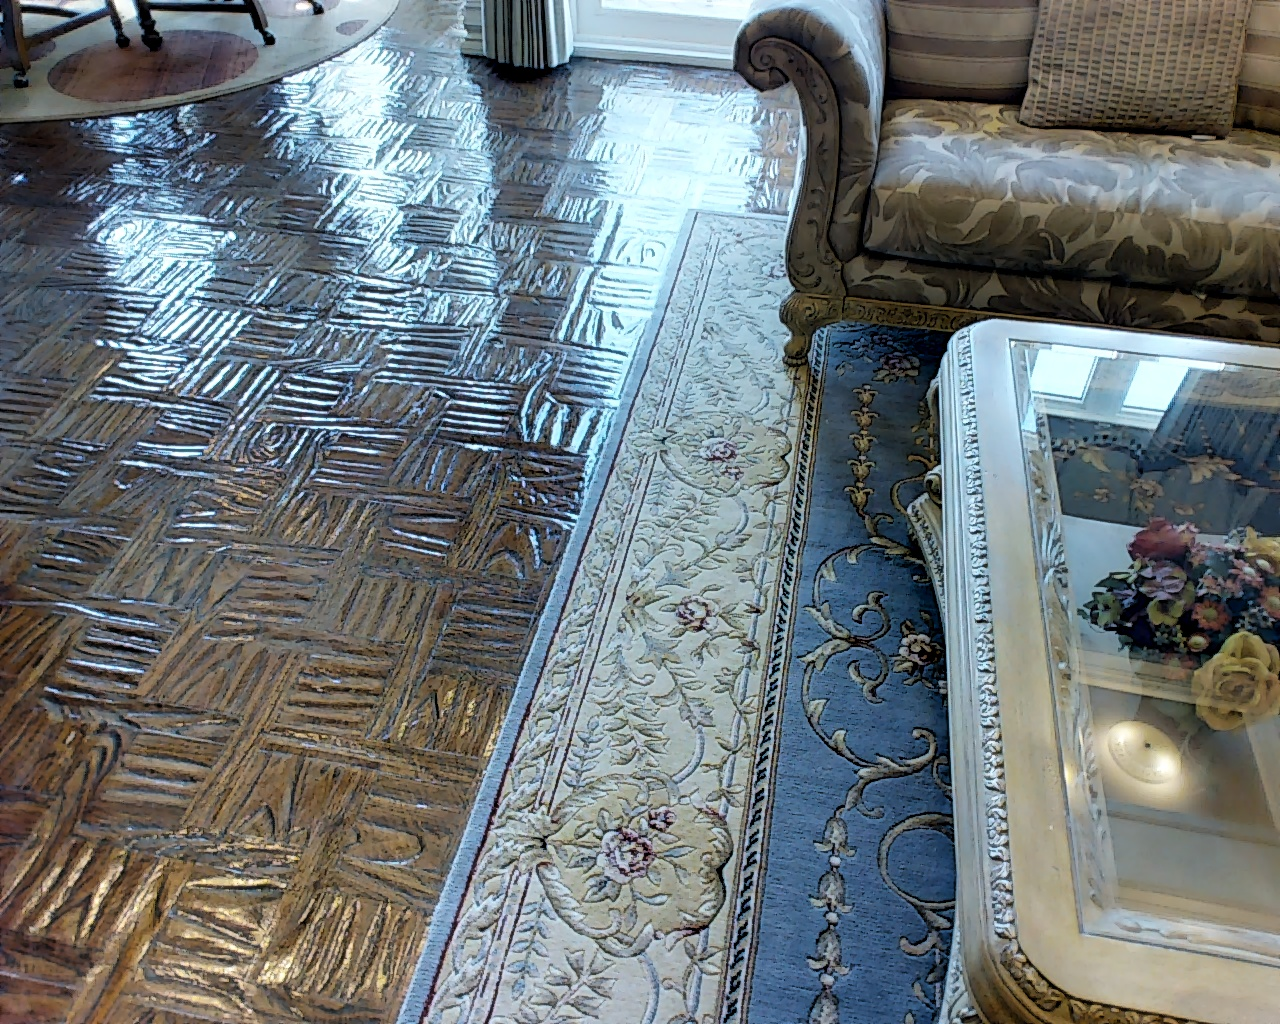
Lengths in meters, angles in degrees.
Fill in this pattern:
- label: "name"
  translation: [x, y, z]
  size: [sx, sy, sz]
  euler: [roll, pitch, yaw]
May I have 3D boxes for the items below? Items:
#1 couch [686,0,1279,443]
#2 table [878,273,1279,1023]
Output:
- label: "couch"
  translation: [1.140, -0.940, 2.600]
  size: [1.850, 0.920, 1.160]
  euler: [8, 42, 8]
- label: "table"
  translation: [0.880, 0.260, 1.530]
  size: [0.950, 0.510, 1.330]
  euler: [8, 42, 8]
